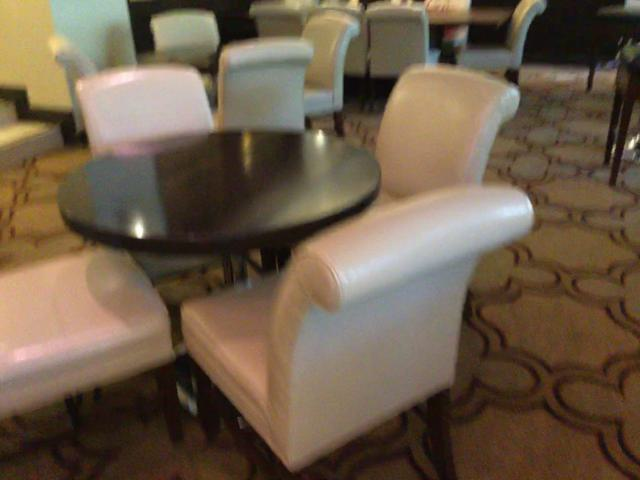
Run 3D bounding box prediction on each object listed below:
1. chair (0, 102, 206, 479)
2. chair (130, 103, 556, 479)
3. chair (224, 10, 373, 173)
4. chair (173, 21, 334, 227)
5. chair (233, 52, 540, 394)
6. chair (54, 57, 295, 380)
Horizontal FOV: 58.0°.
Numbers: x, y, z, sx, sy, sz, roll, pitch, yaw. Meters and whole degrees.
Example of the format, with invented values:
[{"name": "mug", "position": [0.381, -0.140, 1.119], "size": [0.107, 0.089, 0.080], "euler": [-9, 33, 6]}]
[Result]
[{"name": "chair", "position": [-0.810, 0.190, 1.550], "size": [0.740, 0.910, 0.540], "euler": [-17, 31, -27]}, {"name": "chair", "position": [0.010, 0.230, 1.420], "size": [0.570, 0.910, 0.740], "euler": [-18, 31, -29]}, {"name": "chair", "position": [-0.140, -1.060, 4.010], "size": [0.760, 0.900, 0.650], "euler": [-17, 31, -27]}, {"name": "chair", "position": [-0.400, -0.730, 3.380], "size": [0.540, 0.920, 0.970], "euler": [-15, 30, -24]}, {"name": "chair", "position": [0.220, -0.120, 2.090], "size": [0.810, 0.920, 0.580], "euler": [-17, 31, -27]}, {"name": "chair", "position": [-0.550, -0.140, 2.220], "size": [0.560, 0.930, 0.760], "euler": [-17, 31, -27]}]
